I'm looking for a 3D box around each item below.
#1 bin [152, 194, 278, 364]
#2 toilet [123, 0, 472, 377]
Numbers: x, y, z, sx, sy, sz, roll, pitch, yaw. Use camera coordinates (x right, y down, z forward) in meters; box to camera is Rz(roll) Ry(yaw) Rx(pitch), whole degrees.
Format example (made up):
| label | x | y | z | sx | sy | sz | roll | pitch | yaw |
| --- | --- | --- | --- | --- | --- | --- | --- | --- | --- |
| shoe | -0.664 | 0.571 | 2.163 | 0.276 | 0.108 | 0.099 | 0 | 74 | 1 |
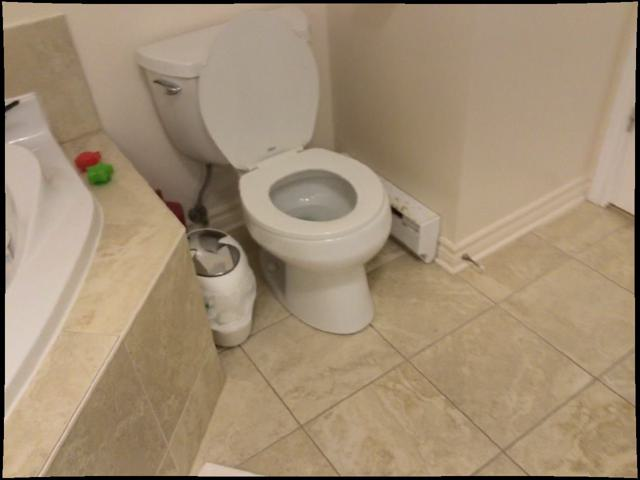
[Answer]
| label | x | y | z | sx | sy | sz | roll | pitch | yaw |
| --- | --- | --- | --- | --- | --- | --- | --- | --- | --- |
| bin | -0.290 | 0.100 | 1.600 | 0.170 | 0.280 | 0.350 | -25 | 46 | -24 |
| toilet | -0.080 | -0.210 | 1.610 | 0.520 | 0.750 | 0.710 | -25 | 47 | -25 |
